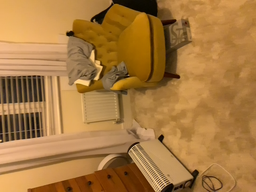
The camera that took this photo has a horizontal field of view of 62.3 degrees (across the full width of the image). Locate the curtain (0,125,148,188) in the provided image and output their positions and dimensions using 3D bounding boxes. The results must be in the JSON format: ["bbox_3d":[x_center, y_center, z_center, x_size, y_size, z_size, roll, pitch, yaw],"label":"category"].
[{"bbox_3d":[-0.790,0.540,1.840,0.240,2.220,0.280,-4,89,57],"label":"curtain"}]

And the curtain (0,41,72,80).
[{"bbox_3d":[-1.270,-0.300,1.780,0.110,1.580,0.330,-4,89,57],"label":"curtain"}]

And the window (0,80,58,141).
[{"bbox_3d":[-1.290,0.140,2.020,0.040,1.170,0.580,-4,89,57],"label":"window"}]

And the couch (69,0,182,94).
[{"bbox_3d":[-0.050,-0.430,1.960,0.690,0.740,0.740,-7,87,57],"label":"couch"}]
